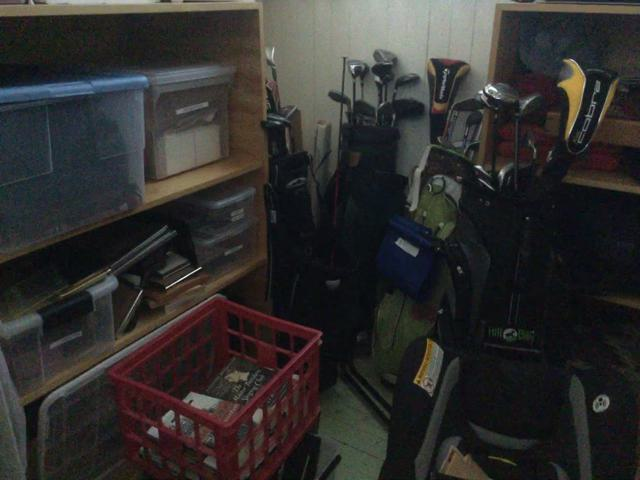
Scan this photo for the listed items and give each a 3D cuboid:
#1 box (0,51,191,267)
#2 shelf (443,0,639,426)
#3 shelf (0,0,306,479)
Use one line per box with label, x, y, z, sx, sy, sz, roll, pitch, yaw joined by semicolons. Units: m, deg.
box;-0.590;-0.210;1.230;0.330;0.320;0.520;13;26;28
shelf;0.930;-0.100;1.650;0.930;1.110;0.510;13;25;28
shelf;-0.590;0.070;1.520;0.660;1.320;1.020;13;26;28
